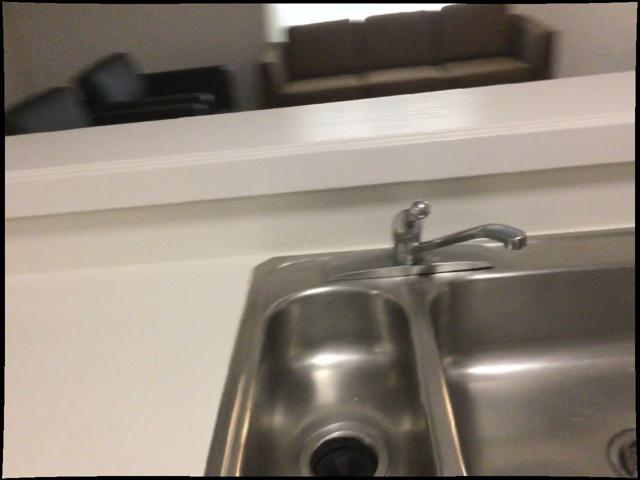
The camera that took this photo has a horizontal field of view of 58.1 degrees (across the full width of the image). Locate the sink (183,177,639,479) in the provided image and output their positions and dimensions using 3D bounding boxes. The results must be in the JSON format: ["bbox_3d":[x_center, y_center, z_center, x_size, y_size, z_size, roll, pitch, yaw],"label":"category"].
[{"bbox_3d":[0.299,0.180,0.740,0.788,0.311,0.510,-6,28,4],"label":"sink"}]

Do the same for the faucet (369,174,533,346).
[{"bbox_3d":[0.170,0.020,0.800,0.180,0.140,0.200,-6,28,4],"label":"faucet"}]
